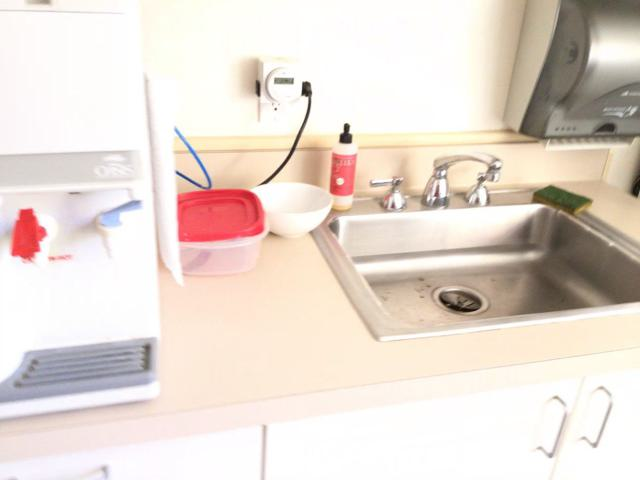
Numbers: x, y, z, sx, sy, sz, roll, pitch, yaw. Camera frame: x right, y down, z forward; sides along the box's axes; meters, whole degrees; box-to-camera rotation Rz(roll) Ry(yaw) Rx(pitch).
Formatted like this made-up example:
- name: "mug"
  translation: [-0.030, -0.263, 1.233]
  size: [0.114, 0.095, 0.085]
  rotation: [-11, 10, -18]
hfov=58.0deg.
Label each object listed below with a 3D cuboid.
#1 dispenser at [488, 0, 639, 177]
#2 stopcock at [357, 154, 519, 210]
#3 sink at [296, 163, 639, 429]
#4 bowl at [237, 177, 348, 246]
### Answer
- name: "dispenser"
  translation: [0.600, -0.330, 1.230]
  size: [0.330, 0.330, 0.240]
  rotation: [-1, 24, -16]
- name: "stopcock"
  translation: [0.260, -0.130, 1.290]
  size: [0.330, 0.090, 0.110]
  rotation: [-1, 24, -16]
- name: "sink"
  translation: [0.330, 0.050, 1.130]
  size: [0.630, 0.240, 0.550]
  rotation: [-1, 24, -16]
- name: "bowl"
  translation: [-0.060, -0.060, 1.110]
  size: [0.170, 0.060, 0.200]
  rotation: [-1, 24, -16]
